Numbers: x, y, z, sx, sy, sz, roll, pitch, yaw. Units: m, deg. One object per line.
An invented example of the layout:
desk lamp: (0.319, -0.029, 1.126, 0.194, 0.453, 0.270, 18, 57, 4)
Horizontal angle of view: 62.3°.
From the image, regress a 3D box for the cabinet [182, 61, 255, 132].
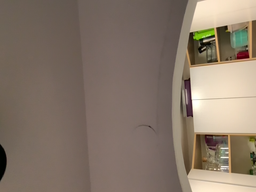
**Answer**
cabinet: (1.110, 0.010, 2.290, 0.330, 0.930, 0.690, -7, -86, -65)

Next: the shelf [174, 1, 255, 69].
shelf: (1.000, -0.620, 2.170, 0.400, 0.920, 0.440, -63, -38, -47)
